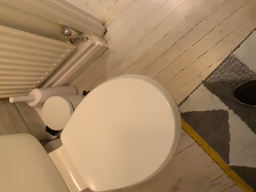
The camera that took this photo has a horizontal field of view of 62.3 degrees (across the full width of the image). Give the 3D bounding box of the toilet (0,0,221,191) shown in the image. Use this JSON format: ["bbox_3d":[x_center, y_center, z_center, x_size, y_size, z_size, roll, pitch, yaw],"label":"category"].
[{"bbox_3d":[-0.120,0.200,0.810,0.690,0.780,0.500,-38,80,19],"label":"toilet"}]
